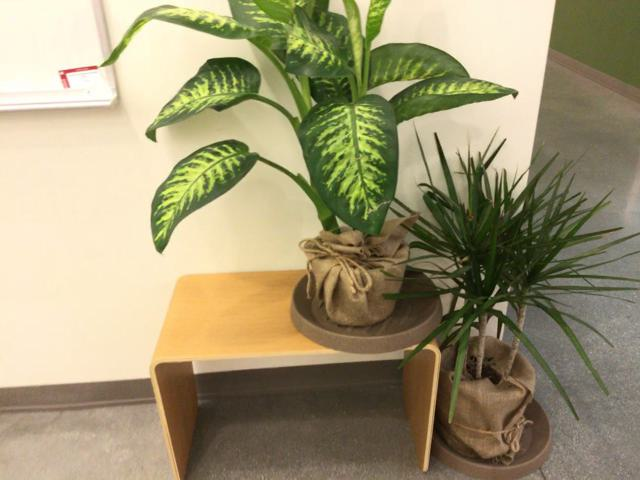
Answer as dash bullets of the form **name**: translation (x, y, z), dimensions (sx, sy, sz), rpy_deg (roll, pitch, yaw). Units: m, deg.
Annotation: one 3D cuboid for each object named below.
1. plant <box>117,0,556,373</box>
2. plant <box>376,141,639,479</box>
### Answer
- **plant**: translation (0.010, -0.150, 1.280), dimensions (0.720, 0.730, 0.400), rpy_deg (-3, 28, -7)
- **plant**: translation (0.480, 0.210, 1.430), dimensions (0.530, 0.760, 0.510), rpy_deg (-3, 28, -7)
